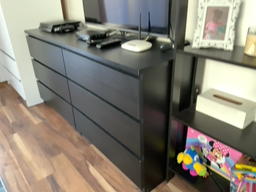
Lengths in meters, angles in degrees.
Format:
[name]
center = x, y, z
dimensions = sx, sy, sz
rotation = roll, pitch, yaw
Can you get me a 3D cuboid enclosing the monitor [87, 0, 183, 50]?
[monitor]
center = -0.020, -0.660, 1.420
dimensions = 0.060, 0.540, 0.890
rotation = -19, 31, -37
